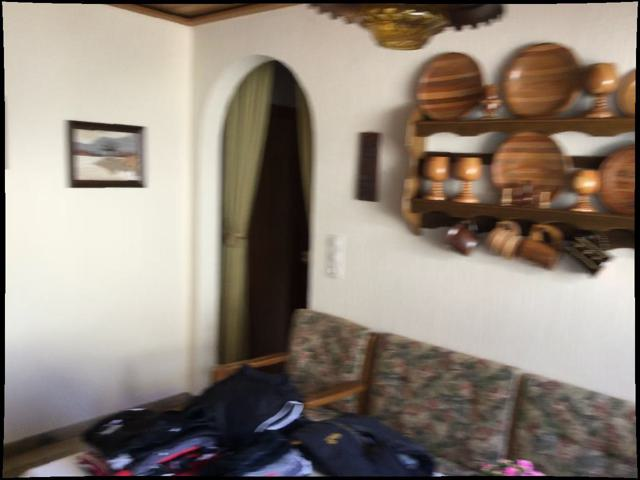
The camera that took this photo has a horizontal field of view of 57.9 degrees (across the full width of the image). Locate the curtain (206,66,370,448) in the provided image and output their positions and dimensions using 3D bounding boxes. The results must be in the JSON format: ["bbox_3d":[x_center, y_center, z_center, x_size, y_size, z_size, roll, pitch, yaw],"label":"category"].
[{"bbox_3d":[-0.240,0.060,3.450,0.930,2.032,0.330,12,12,42],"label":"curtain"}]
